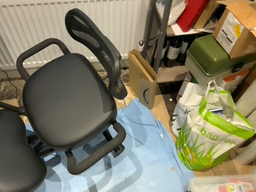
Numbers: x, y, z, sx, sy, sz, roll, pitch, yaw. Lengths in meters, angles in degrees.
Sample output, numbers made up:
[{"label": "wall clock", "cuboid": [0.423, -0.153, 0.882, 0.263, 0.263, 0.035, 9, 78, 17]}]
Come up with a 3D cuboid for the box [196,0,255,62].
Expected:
[{"label": "box", "cuboid": [0.560, -0.350, 0.970, 0.350, 0.190, 0.260, -15, 58, -14]}]

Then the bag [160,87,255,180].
[{"label": "bag", "cuboid": [0.440, 0.220, 1.200, 0.360, 0.390, 0.330, -8, 57, -10]}]

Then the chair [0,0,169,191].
[{"label": "chair", "cuboid": [-0.360, 0.110, 0.980, 0.710, 0.770, 0.600, -25, 61, -20]}]
